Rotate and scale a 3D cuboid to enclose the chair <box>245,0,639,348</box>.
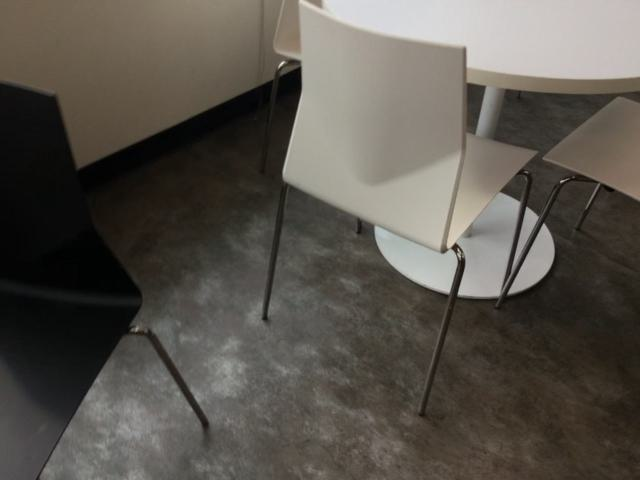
[{"bbox_3d":[0.330,-0.280,1.220,0.710,0.440,0.620,28,47,30],"label":"chair"}]

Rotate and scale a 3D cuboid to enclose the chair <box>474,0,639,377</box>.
[{"bbox_3d":[0.810,-0.200,1.360,0.550,0.870,0.510,29,47,30],"label":"chair"}]
